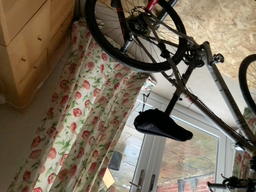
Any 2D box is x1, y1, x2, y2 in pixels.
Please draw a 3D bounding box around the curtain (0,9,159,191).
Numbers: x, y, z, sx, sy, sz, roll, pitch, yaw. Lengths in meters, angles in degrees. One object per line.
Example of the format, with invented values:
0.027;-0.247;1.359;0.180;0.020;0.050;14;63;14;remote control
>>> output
-0.460;0.550;1.400;0.710;2.830;0.290;25;148;-9;curtain
